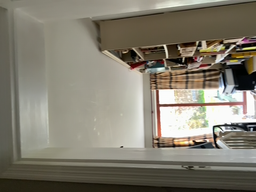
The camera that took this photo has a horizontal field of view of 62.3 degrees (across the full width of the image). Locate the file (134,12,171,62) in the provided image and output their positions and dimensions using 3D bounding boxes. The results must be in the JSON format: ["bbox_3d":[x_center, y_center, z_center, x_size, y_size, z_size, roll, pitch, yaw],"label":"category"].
[{"bbox_3d":[0.320,-0.650,2.520,0.840,0.350,0.310,8,-99,-78],"label":"file"}]

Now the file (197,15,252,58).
[{"bbox_3d":[1.030,-0.620,2.380,0.780,0.390,0.230,3,-94,-78],"label":"file"}]

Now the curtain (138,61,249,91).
[{"bbox_3d":[1.370,-0.410,4.670,0.380,2.240,0.510,-6,-86,-78],"label":"curtain"}]
